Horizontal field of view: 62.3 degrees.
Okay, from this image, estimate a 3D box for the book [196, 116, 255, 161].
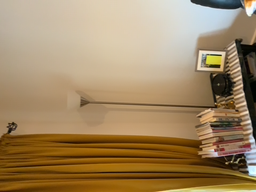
[{"bbox_3d":[0.780,0.340,1.690,0.220,0.340,0.320,126,143,-68],"label":"book"}]
